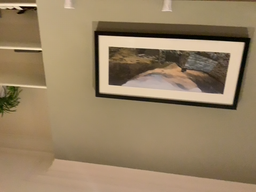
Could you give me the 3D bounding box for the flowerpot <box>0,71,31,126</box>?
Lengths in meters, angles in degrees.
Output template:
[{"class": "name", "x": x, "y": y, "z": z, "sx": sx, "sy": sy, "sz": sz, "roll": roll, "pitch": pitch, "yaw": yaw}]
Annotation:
[{"class": "flowerpot", "x": -1.200, "y": 0.010, "z": 2.060, "sx": 0.290, "sy": 0.420, "sz": 0.330, "roll": 6, "pitch": -159, "yaw": 9}]
